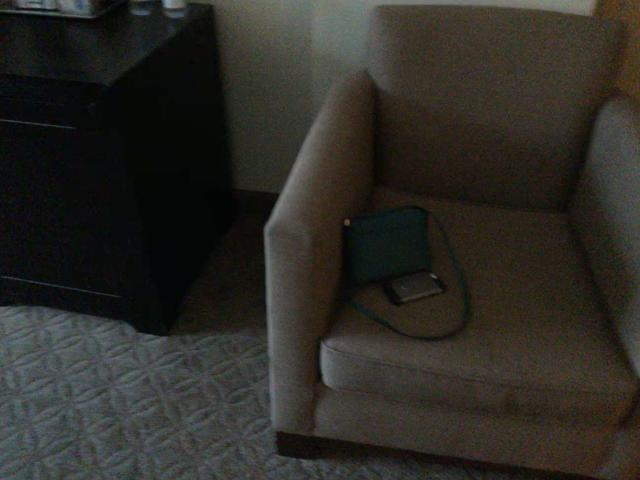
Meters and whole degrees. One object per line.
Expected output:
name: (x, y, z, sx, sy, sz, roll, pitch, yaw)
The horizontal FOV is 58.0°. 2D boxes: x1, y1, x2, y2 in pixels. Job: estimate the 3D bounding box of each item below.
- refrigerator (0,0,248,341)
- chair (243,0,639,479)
refrigerator: (-0.650, -0.270, 1.700, 0.670, 0.830, 0.650, 6, 38, 7)
chair: (0.360, -0.020, 1.390, 0.820, 0.820, 0.880, 6, 38, 7)
